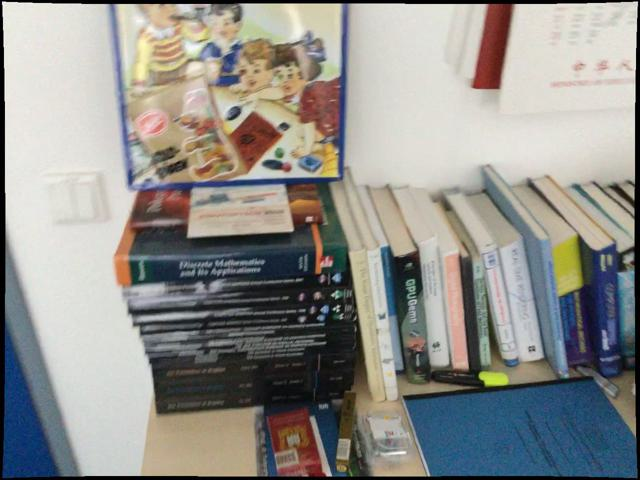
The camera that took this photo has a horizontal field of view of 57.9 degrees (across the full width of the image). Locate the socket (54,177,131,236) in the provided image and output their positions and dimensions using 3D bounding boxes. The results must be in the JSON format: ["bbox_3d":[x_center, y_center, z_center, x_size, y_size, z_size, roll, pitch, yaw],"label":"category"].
[{"bbox_3d":[-0.340,-0.050,0.870,0.090,0.080,0.030,-4,36,-6],"label":"socket"}]

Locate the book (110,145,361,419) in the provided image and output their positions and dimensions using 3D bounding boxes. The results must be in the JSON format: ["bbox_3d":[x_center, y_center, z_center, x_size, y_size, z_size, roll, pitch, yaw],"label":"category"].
[{"bbox_3d":[-0.110,0.060,0.850,0.290,0.320,0.210,-4,36,-6],"label":"book"}]

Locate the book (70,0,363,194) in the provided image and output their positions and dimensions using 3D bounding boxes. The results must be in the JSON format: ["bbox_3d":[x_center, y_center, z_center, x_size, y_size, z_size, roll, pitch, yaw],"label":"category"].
[{"bbox_3d":[-0.120,-0.260,0.730,0.330,0.390,0.100,-4,36,-6],"label":"book"}]
